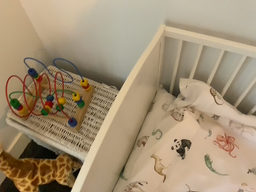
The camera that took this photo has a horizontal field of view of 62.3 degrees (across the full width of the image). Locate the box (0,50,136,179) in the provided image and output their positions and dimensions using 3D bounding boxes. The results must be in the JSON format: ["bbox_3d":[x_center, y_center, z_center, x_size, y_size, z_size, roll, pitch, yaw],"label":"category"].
[{"bbox_3d":[-0.300,0.110,1.270,0.550,0.430,0.470,19,61,15],"label":"box"}]
